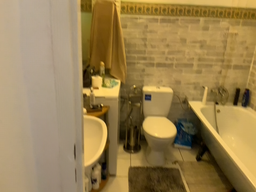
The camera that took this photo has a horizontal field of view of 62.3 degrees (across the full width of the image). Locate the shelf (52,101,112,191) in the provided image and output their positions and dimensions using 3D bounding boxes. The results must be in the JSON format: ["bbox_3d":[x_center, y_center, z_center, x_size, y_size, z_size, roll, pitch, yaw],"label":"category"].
[{"bbox_3d":[-0.360,0.470,1.820,0.390,0.750,0.390,3,19,1],"label":"shelf"}]

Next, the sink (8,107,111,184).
[{"bbox_3d":[-0.340,0.250,1.260,0.410,0.130,0.580,3,19,1],"label":"sink"}]
